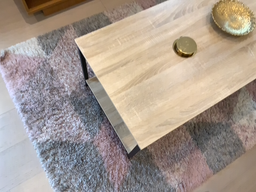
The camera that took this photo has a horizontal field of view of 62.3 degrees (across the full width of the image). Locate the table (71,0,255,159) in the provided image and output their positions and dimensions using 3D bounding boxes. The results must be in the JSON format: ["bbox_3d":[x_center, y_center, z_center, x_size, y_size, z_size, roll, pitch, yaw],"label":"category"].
[{"bbox_3d":[0.320,-0.190,1.120,1.020,0.420,0.530,-28,74,-16],"label":"table"}]
